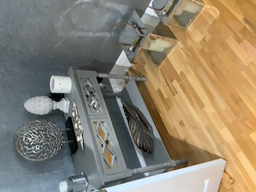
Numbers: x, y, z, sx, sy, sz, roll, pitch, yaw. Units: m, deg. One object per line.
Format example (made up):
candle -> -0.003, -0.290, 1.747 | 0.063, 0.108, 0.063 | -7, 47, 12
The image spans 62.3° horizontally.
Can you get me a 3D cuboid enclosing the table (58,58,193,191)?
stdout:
table -> -0.070, 0.200, 1.750 | 0.310, 0.750, 1.030 | -55, 47, 38
